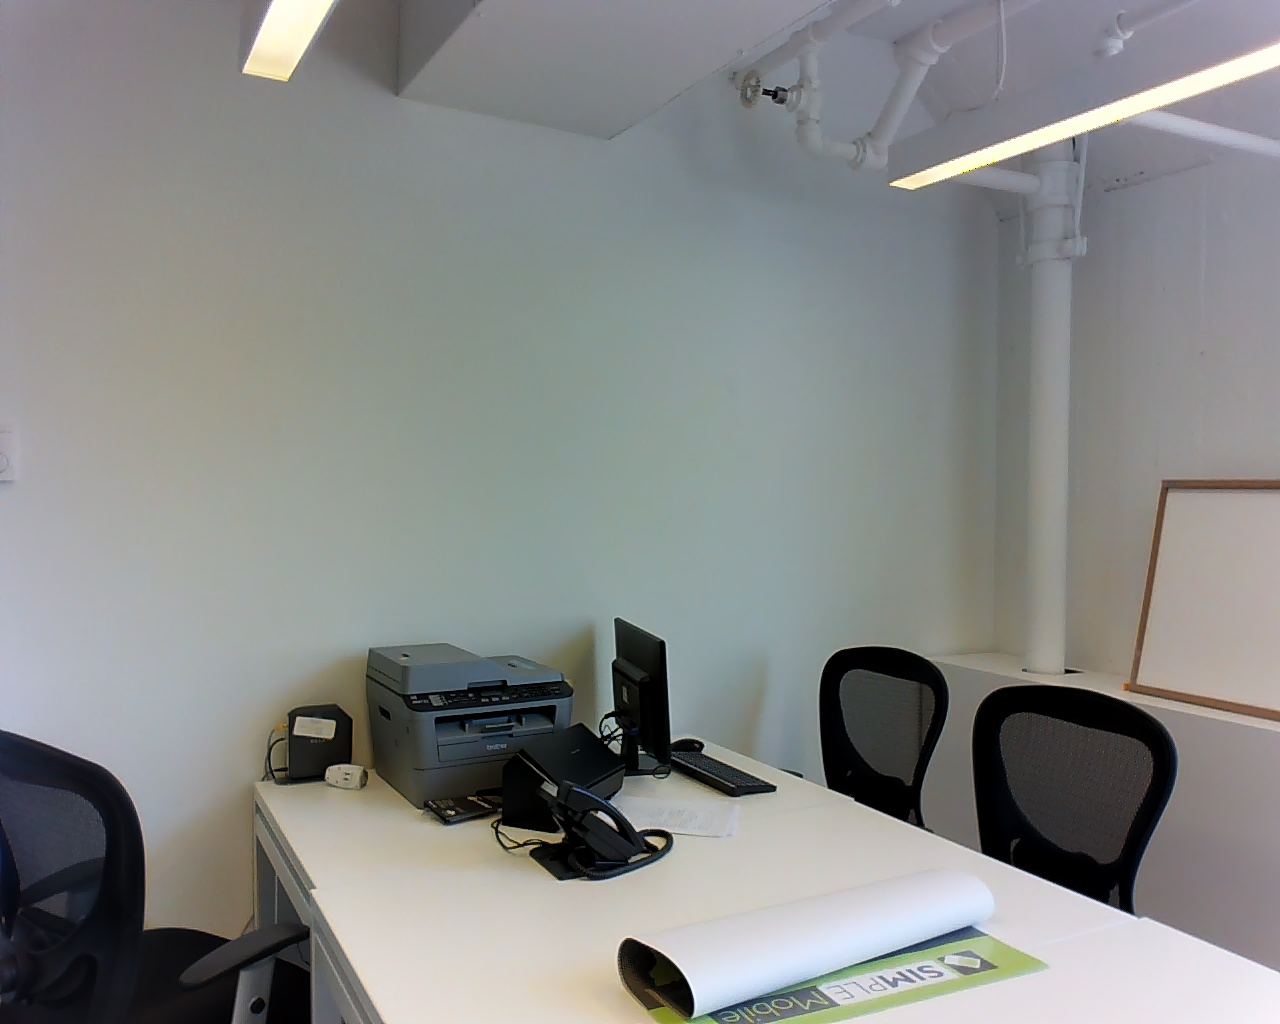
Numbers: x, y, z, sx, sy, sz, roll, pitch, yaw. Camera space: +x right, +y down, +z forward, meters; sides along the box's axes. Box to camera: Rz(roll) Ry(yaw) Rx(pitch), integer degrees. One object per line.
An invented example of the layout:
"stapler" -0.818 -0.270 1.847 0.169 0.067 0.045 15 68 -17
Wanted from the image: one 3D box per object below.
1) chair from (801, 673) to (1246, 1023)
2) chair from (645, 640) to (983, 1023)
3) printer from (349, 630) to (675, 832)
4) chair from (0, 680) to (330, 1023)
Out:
"chair" 0.780 0.920 2.270 0.590 1.030 0.640 1 1 -29
"chair" 0.460 0.910 2.940 0.640 1.010 0.630 1 1 -30
"printer" -0.330 0.500 2.630 0.620 0.330 0.570 1 1 -29
"chair" -0.970 0.900 1.970 0.610 1.040 0.680 1 1 -30
